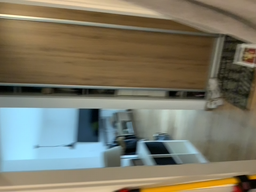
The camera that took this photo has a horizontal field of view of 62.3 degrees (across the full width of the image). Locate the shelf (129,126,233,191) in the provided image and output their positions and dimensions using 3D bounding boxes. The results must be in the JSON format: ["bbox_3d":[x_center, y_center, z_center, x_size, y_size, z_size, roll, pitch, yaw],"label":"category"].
[{"bbox_3d":[0.600,0.910,3.060,1.510,0.850,0.340,-127,40,-69],"label":"shelf"}]
